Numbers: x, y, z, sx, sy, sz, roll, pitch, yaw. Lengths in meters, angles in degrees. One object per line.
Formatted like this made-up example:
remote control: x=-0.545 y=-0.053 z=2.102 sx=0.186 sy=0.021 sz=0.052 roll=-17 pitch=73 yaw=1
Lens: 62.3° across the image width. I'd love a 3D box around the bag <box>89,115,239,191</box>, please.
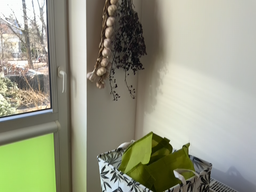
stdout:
bag: x=0.120 y=0.420 z=0.900 sx=0.420 sy=0.520 sz=0.410 roll=-8 pitch=18 yaw=-38
